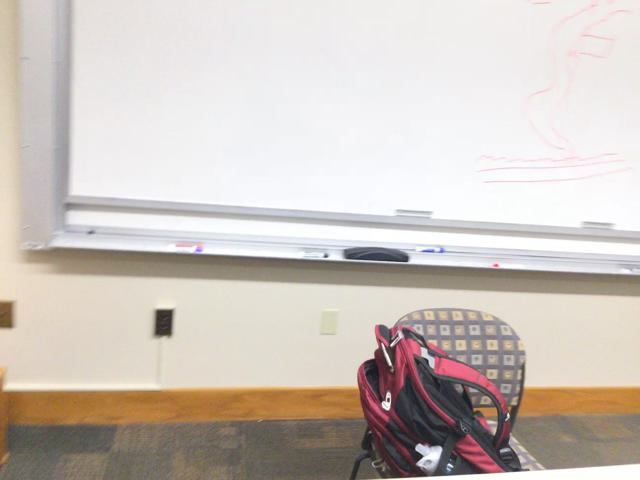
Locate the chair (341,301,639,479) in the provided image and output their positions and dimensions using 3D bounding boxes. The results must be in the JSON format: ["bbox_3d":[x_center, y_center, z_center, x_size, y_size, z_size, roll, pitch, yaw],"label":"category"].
[{"bbox_3d":[0.360,0.630,1.520,0.470,0.770,0.550,3,16,-10],"label":"chair"}]

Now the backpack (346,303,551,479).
[{"bbox_3d":[0.280,0.420,1.430,0.400,0.480,0.400,1,-13,-2],"label":"backpack"}]
